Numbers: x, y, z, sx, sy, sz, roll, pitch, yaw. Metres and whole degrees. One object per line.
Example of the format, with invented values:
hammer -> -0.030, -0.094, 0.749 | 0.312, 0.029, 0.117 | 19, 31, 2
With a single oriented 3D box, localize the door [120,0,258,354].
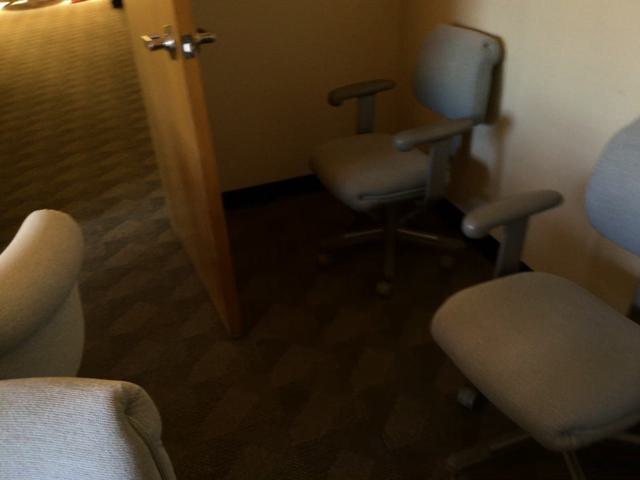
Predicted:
door -> -0.470, -0.340, 1.980 | 0.190, 1.120, 0.900 | -13, 36, -15
